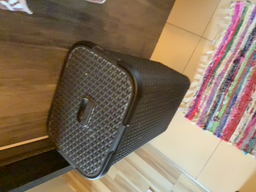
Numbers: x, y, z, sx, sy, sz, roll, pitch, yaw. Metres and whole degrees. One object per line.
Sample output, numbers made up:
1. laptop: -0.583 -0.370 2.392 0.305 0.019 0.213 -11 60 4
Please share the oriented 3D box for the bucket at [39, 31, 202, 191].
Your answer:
1. bucket: 0.010 0.050 0.950 0.270 0.610 0.490 33 111 27
